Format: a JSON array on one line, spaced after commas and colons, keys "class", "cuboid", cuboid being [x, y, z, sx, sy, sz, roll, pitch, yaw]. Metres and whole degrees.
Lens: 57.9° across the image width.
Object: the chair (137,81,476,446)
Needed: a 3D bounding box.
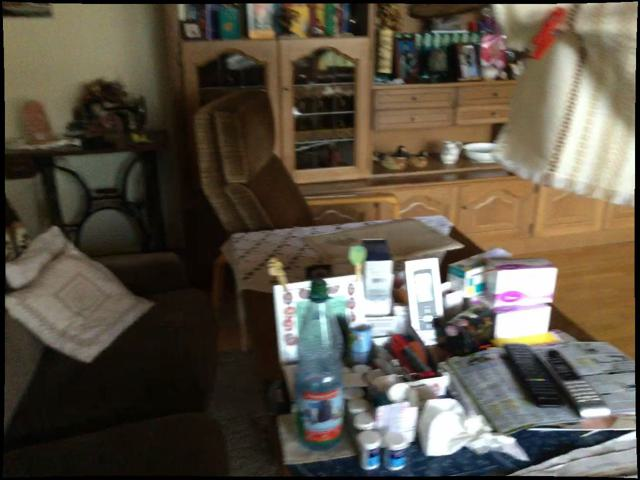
[{"class": "chair", "cuboid": [0.020, 0.000, 2.150, 0.929, 1.011, 0.880, 4, 23, 9]}]
